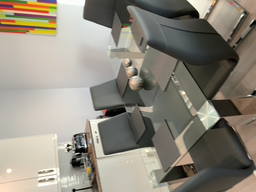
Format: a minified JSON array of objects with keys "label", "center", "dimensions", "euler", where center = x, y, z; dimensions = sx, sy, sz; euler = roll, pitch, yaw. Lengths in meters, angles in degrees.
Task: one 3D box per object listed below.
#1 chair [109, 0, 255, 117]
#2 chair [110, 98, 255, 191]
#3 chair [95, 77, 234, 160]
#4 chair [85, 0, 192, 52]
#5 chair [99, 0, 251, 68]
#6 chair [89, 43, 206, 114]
[{"label":"chair","center":[0.450,-0.230,1.420],"dimensions":[0.550,1.010,0.410],"euler":[110,150,-44]},{"label":"chair","center":[0.480,0.390,1.370],"dimensions":[0.460,1.030,0.550],"euler":[111,149,-46]},{"label":"chair","center":[0.280,0.180,1.890],"dimensions":[0.550,1.010,0.410],"euler":[110,149,-45]},{"label":"chair","center":[0.080,-0.820,2.320],"dimensions":[0.410,0.990,0.520],"euler":[110,150,-44]},{"label":"chair","center":[0.330,-0.560,1.700],"dimensions":[0.530,1.000,0.400],"euler":[110,150,-44]},{"label":"chair","center":[0.160,-0.170,2.160],"dimensions":[0.540,1.000,0.400],"euler":[110,149,-45]}]
